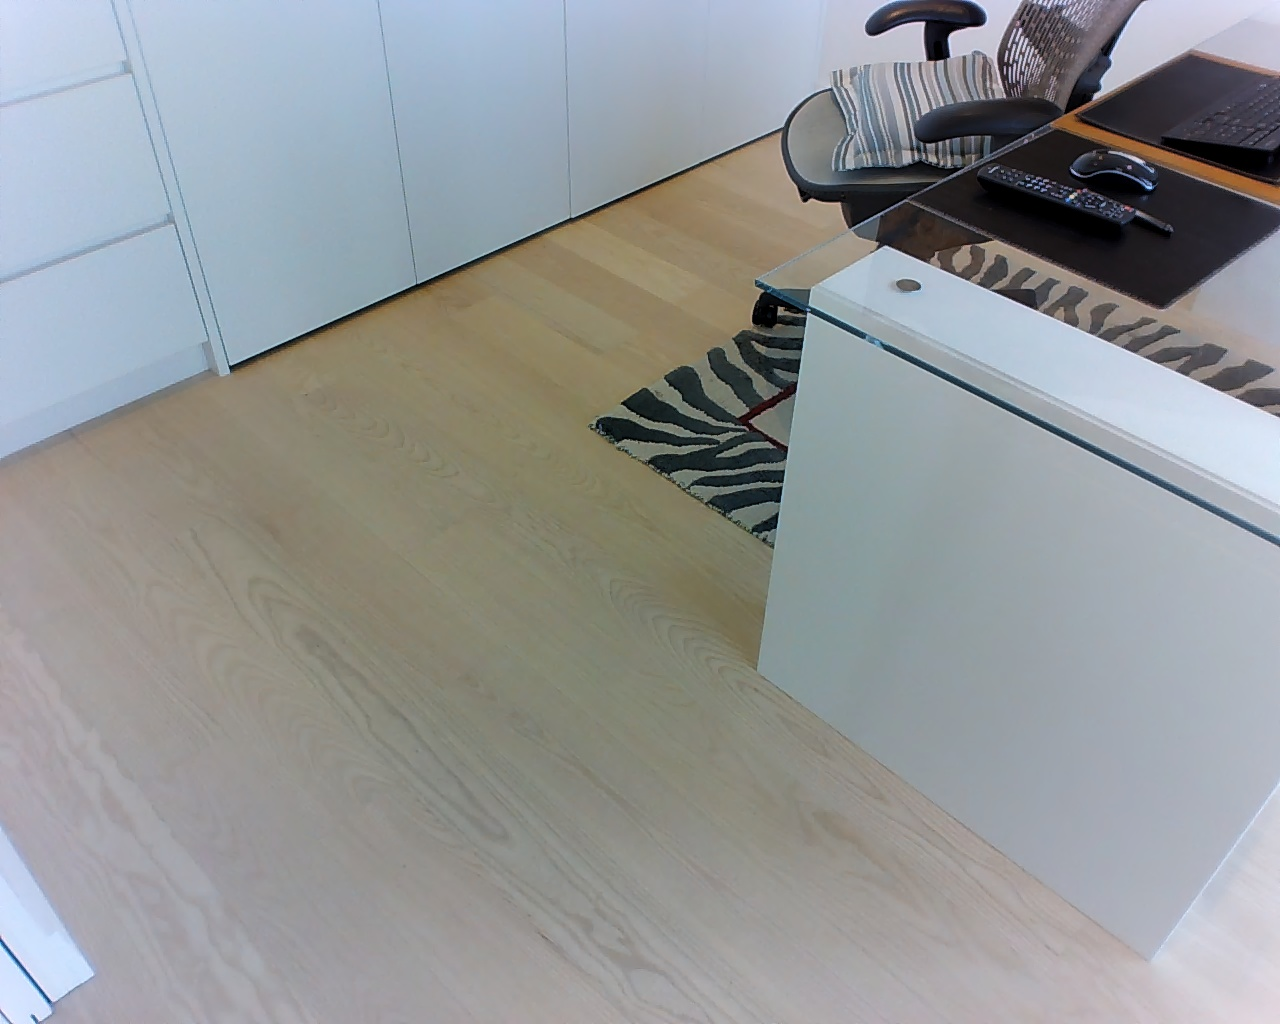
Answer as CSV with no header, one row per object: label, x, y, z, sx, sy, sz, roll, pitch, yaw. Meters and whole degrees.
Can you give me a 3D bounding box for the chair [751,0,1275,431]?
chair,0.640,-0.750,2.130,0.720,1.050,0.560,0,42,0
